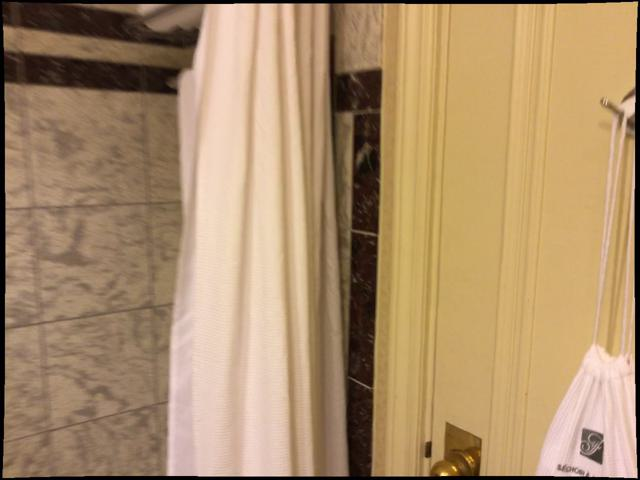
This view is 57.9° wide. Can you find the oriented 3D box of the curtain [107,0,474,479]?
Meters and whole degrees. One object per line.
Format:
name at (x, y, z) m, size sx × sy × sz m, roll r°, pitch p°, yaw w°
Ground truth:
curtain at (-0.080, 0.240, 1.030) m, size 0.420 × 1.812 × 0.410 m, roll -6°, pitch 14°, yaw -35°
